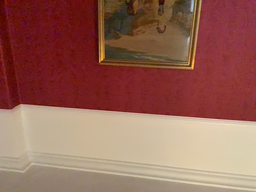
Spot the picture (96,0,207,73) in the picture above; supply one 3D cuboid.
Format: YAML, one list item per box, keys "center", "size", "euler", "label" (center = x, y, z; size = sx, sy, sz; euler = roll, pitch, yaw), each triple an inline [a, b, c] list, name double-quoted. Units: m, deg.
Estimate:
- center: [0.130, -0.550, 1.340]
  size: [0.680, 0.770, 0.050]
  euler: [4, -161, 11]
  label: "picture"
